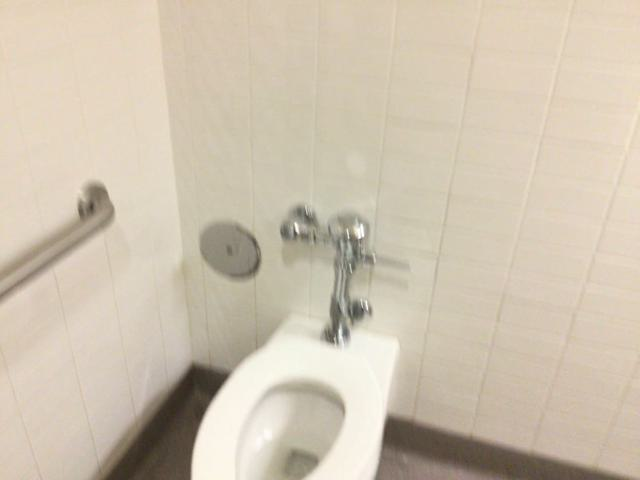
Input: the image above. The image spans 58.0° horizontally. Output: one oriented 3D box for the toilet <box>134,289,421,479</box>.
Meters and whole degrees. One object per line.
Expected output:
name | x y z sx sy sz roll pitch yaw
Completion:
toilet | -0.050 0.530 1.330 0.390 0.500 0.630 11 32 16
